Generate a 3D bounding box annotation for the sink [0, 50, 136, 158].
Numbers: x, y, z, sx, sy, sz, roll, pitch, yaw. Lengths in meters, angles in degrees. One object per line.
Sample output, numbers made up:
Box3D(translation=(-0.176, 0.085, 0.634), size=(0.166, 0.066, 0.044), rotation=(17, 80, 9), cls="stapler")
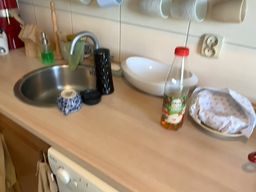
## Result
Box3D(translation=(-0.300, -0.020, 1.070), size=(0.470, 0.190, 0.500), rotation=(22, 37, 27), cls="sink")
